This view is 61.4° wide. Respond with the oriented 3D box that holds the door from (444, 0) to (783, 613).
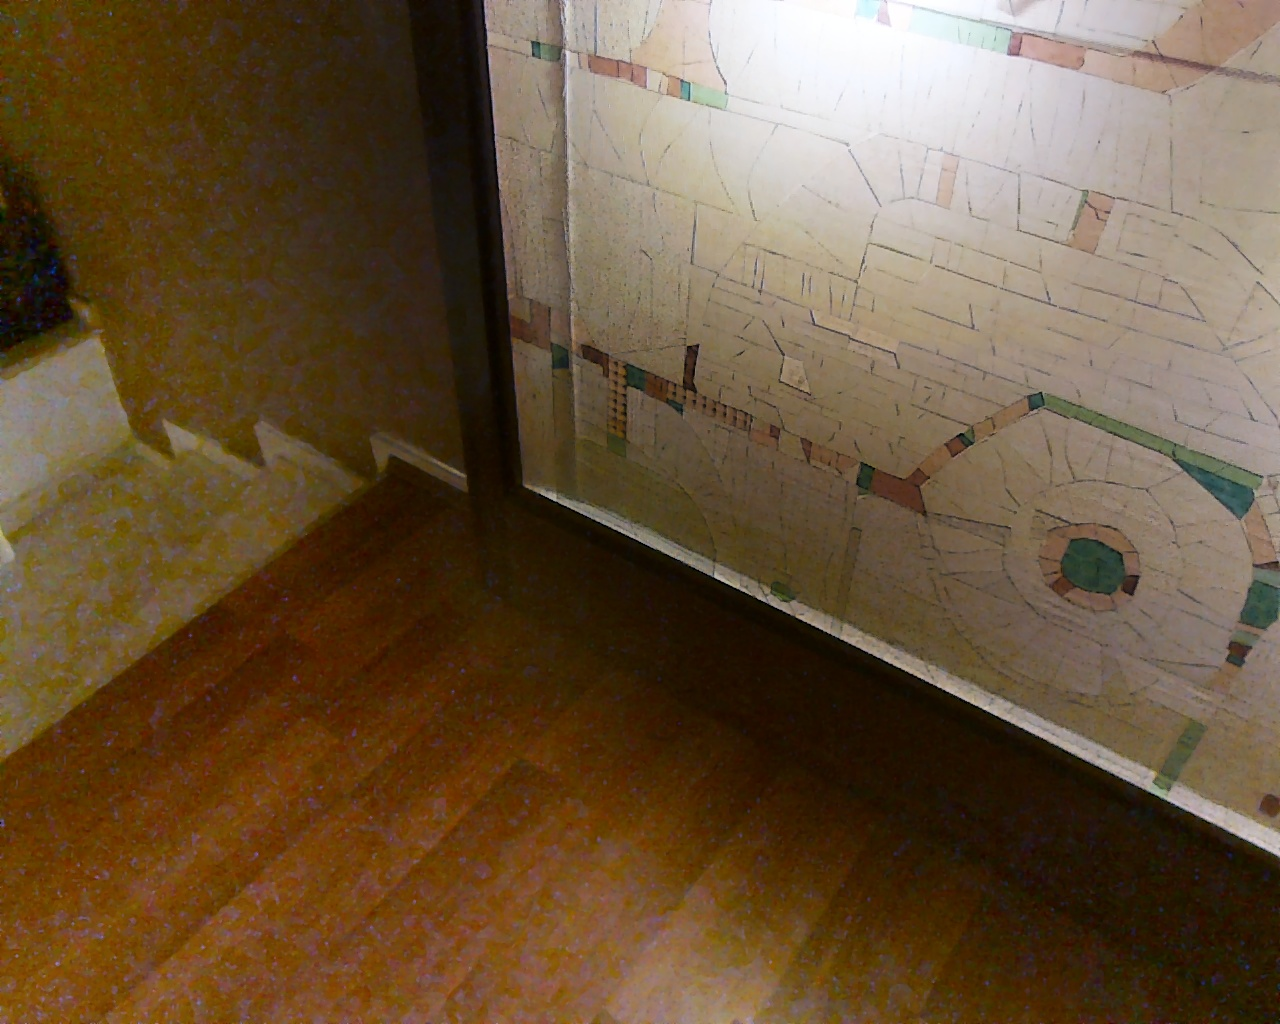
[{"bbox_3d":[-0.050,-0.610,1.360,0.480,1.790,0.060,26,47,26],"label":"door"}]
